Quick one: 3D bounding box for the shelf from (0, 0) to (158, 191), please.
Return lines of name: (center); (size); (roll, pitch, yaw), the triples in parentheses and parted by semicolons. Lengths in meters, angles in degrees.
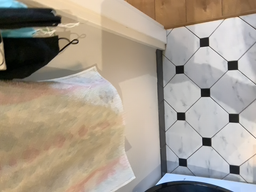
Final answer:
shelf: (-0.280, 0.130, 0.370); (0.200, 1.300, 0.550); (0, 94, 29)
